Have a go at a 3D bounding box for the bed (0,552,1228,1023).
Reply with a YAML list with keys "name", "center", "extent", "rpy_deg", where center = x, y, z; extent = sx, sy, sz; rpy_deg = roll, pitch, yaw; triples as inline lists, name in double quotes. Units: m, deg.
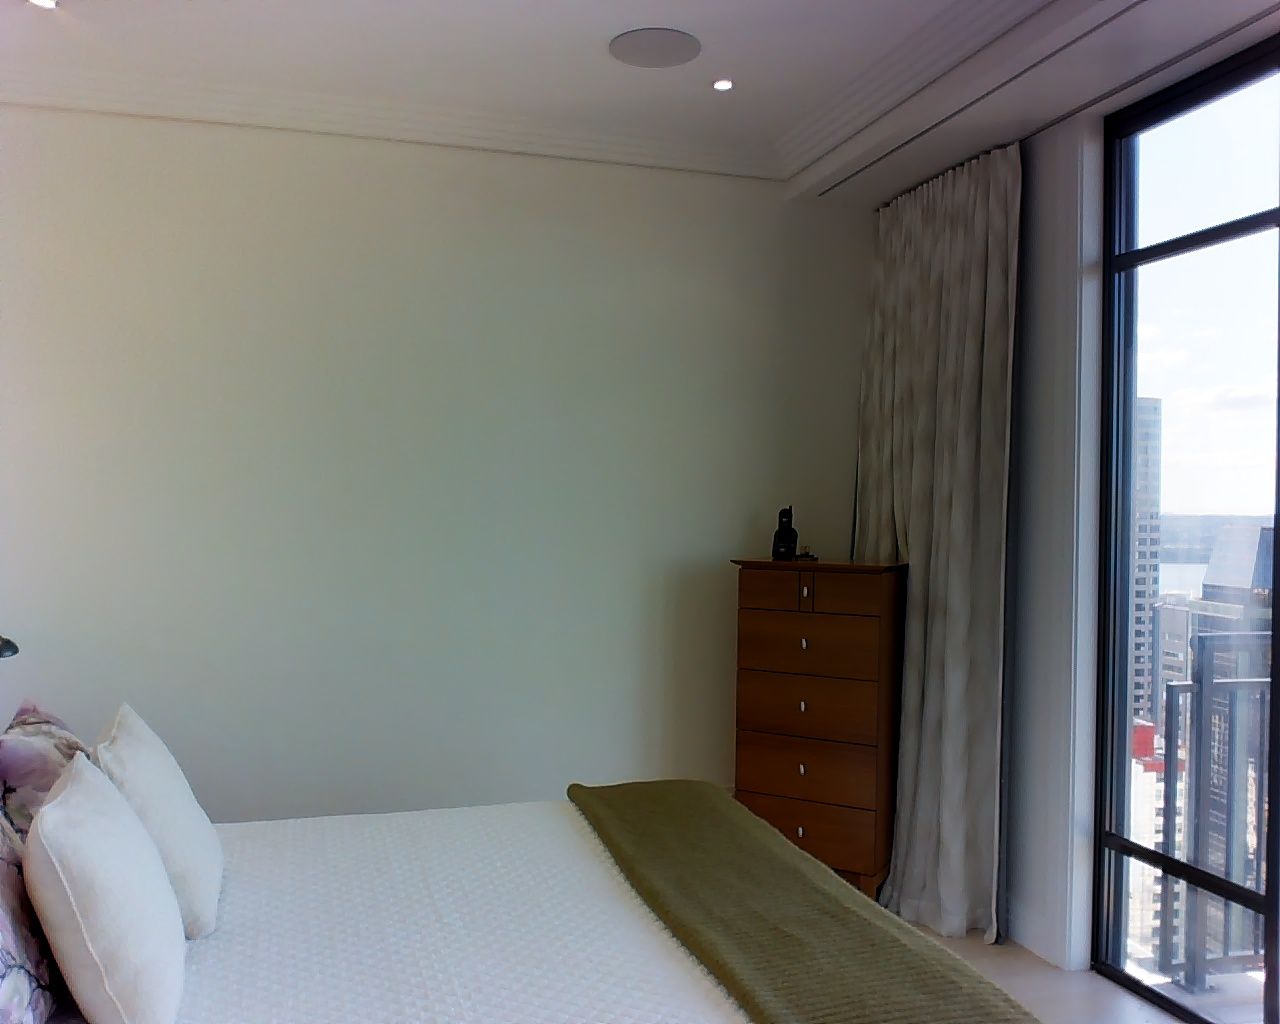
- name: "bed"
  center: [-0.520, 0.760, 2.190]
  extent: [2.409, 1.210, 1.840]
  rpy_deg: [-1, 1, -16]
